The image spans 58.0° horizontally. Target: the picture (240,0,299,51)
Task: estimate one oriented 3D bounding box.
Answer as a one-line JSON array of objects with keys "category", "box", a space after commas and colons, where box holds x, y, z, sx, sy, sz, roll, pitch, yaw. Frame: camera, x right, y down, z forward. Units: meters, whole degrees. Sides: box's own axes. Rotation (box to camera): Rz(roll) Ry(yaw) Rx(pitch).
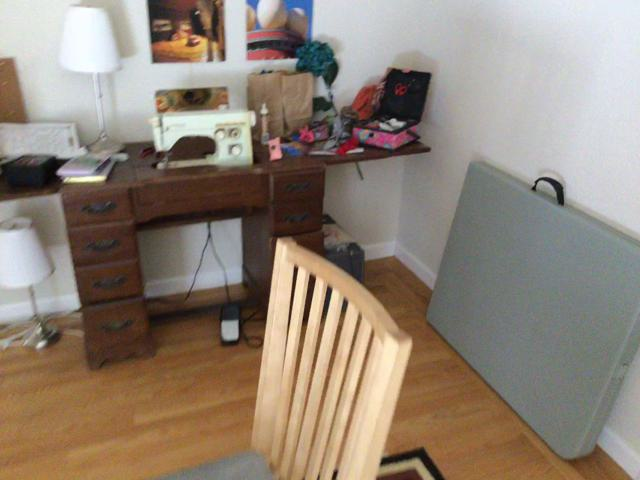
[{"category": "picture", "box": [-0.210, -0.920, 2.400, 0.240, 0.250, 0.040, -8, 26, -22]}]
